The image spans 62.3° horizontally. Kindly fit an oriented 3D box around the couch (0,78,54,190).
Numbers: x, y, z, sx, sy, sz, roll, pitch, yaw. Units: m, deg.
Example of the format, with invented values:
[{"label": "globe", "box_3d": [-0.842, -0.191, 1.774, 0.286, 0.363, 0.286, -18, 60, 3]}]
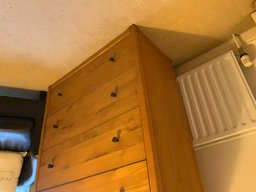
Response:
[{"label": "couch", "box_3d": [-1.030, 0.320, 1.680, 0.730, 0.680, 0.640, 8, 145, -21]}]
